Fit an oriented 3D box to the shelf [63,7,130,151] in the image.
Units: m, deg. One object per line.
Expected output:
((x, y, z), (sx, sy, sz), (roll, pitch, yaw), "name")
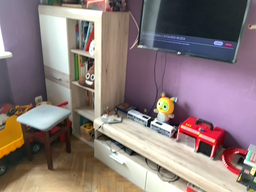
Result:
((-0.310, -0.160, 2.100), (0.450, 1.300, 0.370), (22, 30, 34), "shelf")

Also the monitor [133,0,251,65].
((0.370, -0.510, 1.440), (0.760, 0.430, 0.050), (22, 27, 35), "monitor")

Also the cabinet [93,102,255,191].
((0.620, 0.640, 1.550), (2.080, 0.420, 0.450), (22, 30, 34), "cabinet")
